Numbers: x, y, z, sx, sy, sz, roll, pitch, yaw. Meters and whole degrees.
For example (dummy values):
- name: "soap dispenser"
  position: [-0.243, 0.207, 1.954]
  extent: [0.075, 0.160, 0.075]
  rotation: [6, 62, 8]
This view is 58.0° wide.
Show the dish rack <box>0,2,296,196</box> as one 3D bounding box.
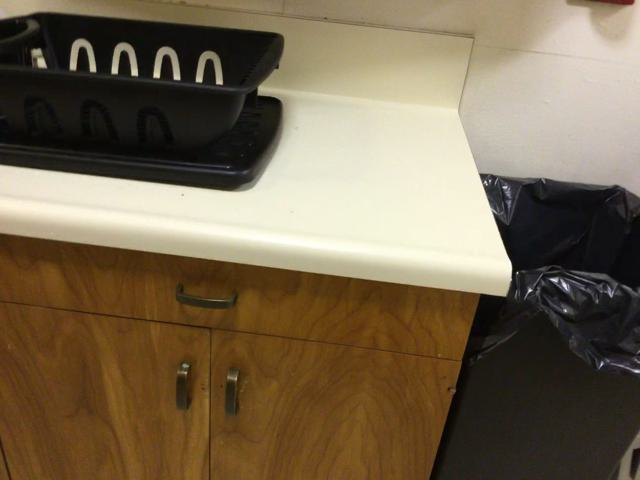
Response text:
- name: "dish rack"
  position: [-0.340, -0.260, 0.960]
  extent: [0.540, 0.150, 0.410]
  rotation: [7, 31, 3]
